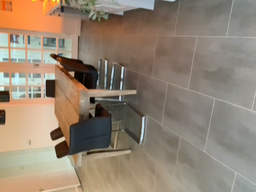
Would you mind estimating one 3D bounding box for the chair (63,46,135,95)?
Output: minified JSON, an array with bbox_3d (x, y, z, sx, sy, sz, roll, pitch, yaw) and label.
[{"bbox_3d":[-0.430,-0.370,3.030,0.460,0.890,0.580,33,121,58],"label":"chair"}]
